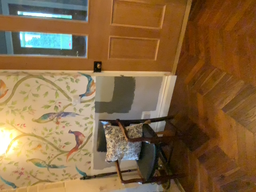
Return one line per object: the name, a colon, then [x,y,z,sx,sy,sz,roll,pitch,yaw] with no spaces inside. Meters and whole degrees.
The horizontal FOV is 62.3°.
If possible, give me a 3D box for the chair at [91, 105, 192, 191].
chair: [0.090,0.570,2.420,0.620,0.900,0.700,-123,37,-57]
